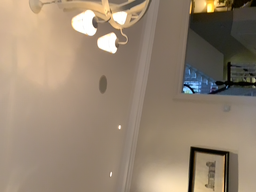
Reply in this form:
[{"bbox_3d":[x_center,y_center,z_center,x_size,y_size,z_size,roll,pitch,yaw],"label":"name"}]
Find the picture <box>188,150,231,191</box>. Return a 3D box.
[{"bbox_3d":[1.290,1.280,3.380,0.050,0.610,0.740,45,-129,-64],"label":"picture"}]
